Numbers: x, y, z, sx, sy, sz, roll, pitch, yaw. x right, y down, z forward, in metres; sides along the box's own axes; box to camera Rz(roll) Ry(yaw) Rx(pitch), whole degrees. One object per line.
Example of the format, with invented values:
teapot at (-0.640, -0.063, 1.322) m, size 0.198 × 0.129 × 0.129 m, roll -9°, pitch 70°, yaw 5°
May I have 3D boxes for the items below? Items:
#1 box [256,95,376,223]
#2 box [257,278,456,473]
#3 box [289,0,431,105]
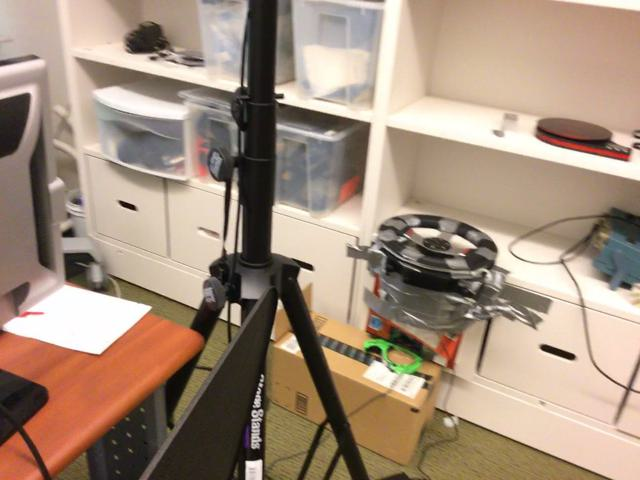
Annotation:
box at (-0.010, -0.280, 1.890) m, size 0.240 × 0.310 × 0.350 m, roll 15°, pitch 27°, yaw 25°
box at (0.100, 0.390, 1.770) m, size 0.520 × 0.350 × 0.270 m, roll 15°, pitch 27°, yaw 25°
box at (0.120, -0.580, 1.690) m, size 0.280 × 0.280 × 0.340 m, roll 15°, pitch 27°, yaw 25°
